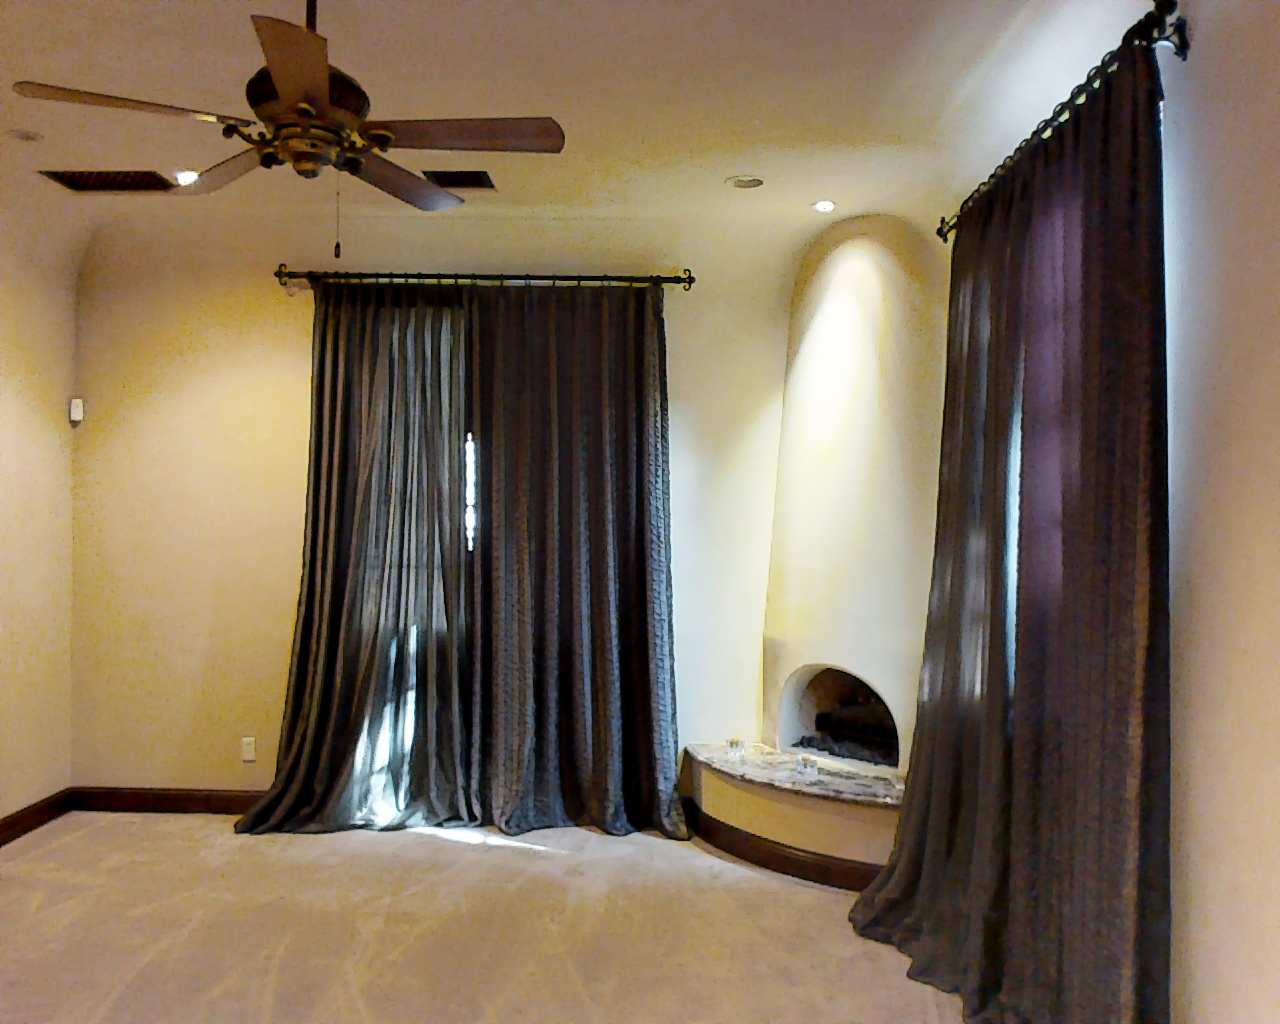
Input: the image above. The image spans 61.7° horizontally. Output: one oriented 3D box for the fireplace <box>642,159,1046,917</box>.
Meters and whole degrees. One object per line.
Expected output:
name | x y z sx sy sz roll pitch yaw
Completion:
fireplace | 0.920 0.100 5.070 0.950 2.950 1.590 1 0 -44
